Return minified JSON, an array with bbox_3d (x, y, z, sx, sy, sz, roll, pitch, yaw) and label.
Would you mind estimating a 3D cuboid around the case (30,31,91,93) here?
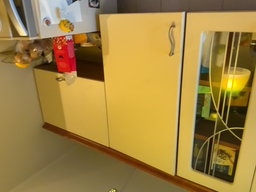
[{"bbox_3d":[-0.330,-0.180,1.050,0.230,0.260,0.140,13,-154,31],"label":"case"}]
